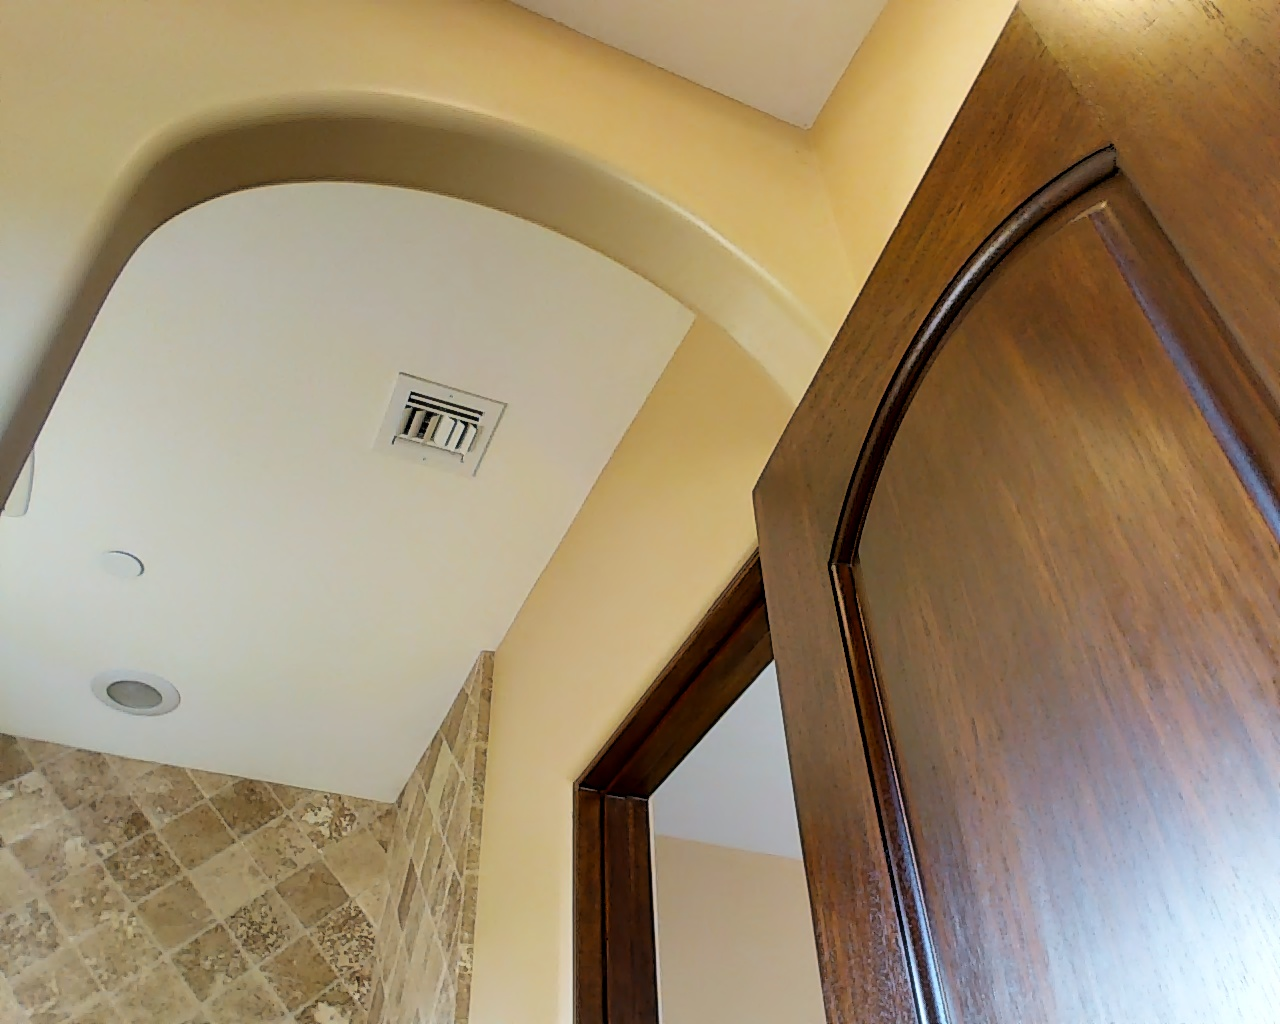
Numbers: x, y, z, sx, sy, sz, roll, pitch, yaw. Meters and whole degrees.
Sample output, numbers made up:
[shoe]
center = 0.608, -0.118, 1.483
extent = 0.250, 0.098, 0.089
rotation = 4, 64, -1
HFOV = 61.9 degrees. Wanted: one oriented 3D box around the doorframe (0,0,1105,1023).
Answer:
[doorframe]
center = -0.080, 0.460, 0.460
extent = 0.750, 2.500, 0.190
rotation = 15, -46, -18
